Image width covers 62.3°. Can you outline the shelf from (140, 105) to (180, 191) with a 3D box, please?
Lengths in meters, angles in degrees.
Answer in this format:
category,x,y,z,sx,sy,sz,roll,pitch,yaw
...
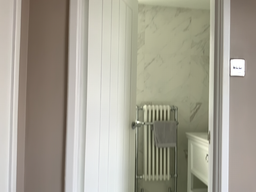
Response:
category,x,y,z,sx,sy,sz,roll,pitch,yaw
shelf,0.380,0.600,2.540,0.430,0.980,0.150,1,-1,-7

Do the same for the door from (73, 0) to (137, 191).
category,x,y,z,sx,sy,sz,roll,pitch,yaw
door,-0.100,0.230,1.380,0.060,1.990,0.760,1,-1,21
